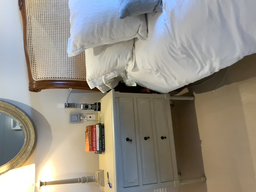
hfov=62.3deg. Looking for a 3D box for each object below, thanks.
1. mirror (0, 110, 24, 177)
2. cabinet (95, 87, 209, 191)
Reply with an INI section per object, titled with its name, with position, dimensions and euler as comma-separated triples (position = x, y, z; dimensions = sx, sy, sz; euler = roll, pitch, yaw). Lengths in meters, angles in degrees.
[mirror]
position = -1.170, 0.360, 1.580
dimensions = 0.060, 0.690, 0.500
euler = 151, 117, -65
[cabinet]
position = 0.170, 0.360, 1.830
dimensions = 0.450, 0.790, 0.760
euler = 147, 121, -65
